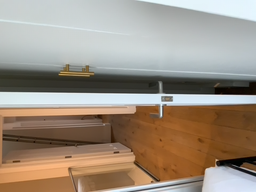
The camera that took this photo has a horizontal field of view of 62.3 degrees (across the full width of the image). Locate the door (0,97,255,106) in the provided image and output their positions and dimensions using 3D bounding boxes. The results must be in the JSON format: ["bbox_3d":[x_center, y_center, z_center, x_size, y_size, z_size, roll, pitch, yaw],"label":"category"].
[{"bbox_3d":[-0.110,0.040,1.260,0.810,2.040,0.030,174,96,-69],"label":"door"}]
